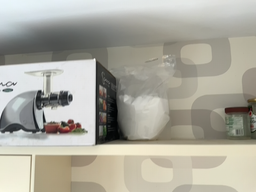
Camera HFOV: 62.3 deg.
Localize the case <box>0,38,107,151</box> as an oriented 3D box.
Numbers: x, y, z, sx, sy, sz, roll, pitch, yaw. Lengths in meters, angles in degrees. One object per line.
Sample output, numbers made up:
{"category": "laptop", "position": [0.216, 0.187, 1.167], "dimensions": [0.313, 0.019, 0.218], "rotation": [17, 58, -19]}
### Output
{"category": "case", "position": [-0.310, 0.020, 0.780], "dimensions": [0.400, 0.320, 0.320], "rotation": [-2, -9, 7]}
